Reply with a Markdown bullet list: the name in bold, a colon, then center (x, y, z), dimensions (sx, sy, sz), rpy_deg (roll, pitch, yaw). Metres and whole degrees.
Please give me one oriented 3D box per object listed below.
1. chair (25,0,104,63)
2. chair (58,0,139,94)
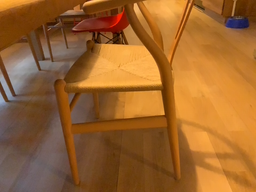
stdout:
- **chair**: center (-0.600, -0.810, 2.160), dimensions (0.580, 0.790, 0.500), rpy_deg (-2, 31, 2)
- **chair**: center (-0.160, -0.480, 1.570), dimensions (0.460, 0.800, 0.470), rpy_deg (0, 31, 5)
